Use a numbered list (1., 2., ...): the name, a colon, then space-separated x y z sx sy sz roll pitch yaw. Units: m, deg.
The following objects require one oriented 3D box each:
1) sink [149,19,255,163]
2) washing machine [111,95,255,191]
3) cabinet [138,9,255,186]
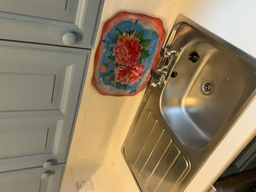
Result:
1. sink: 0.340 -0.030 0.930 0.400 0.180 0.450 55 135 44
2. washing machine: 0.480 0.420 1.410 0.610 0.900 0.600 55 135 44
3. cabinet: 0.640 -0.030 1.130 0.590 0.900 0.500 55 135 44
